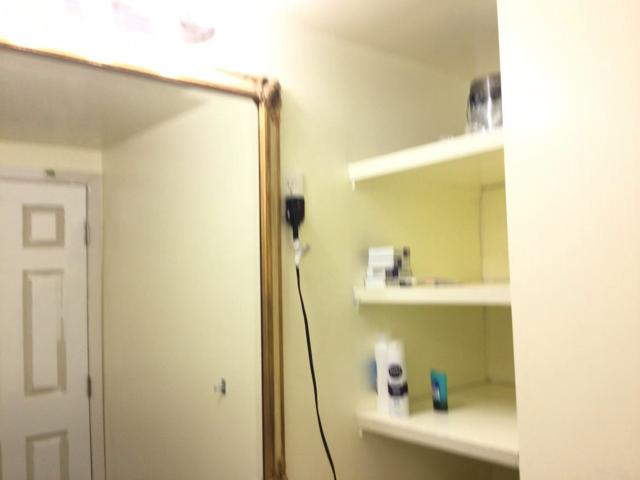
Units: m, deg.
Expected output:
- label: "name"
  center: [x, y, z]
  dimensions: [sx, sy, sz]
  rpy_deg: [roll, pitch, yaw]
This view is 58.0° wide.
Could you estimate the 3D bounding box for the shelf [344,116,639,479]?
- label: "shelf"
  center: [0.470, 0.330, 1.560]
  dimensions: [0.630, 1.130, 0.490]
  rpy_deg: [3, -5, -42]
